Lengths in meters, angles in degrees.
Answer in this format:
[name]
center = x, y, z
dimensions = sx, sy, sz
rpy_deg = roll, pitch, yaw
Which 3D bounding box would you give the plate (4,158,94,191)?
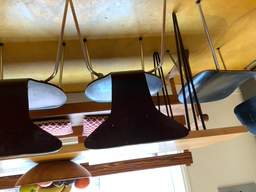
[plate]
center = -0.340, 0.420, 1.000
dimensions = 0.340, 0.180, 0.310
rpy_deg = -5, 159, -10
